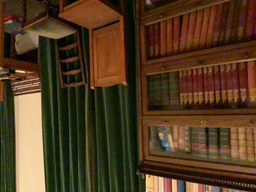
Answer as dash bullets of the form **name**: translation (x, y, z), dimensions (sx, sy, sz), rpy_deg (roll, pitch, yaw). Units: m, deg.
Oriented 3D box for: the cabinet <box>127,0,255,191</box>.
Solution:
- **cabinet**: translation (0.510, -0.350, 1.400), dimensions (0.920, 1.710, 0.440), rpy_deg (-5, 176, 34)
